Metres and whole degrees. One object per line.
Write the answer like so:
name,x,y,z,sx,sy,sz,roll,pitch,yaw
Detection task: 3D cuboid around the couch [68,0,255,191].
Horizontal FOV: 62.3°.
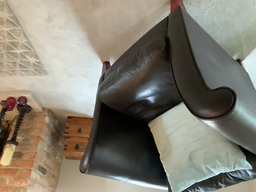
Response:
couch,0.360,0.020,1.370,1.030,0.870,0.940,23,141,-27
